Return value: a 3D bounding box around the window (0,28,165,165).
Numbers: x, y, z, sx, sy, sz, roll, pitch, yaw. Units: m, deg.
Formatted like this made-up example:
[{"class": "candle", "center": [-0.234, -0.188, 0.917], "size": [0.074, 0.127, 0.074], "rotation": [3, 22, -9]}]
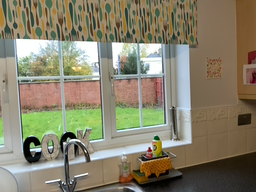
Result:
[{"class": "window", "center": [-0.510, -0.010, 1.450], "size": [1.710, 0.840, 0.070], "rotation": [-4, 4, -22]}]
